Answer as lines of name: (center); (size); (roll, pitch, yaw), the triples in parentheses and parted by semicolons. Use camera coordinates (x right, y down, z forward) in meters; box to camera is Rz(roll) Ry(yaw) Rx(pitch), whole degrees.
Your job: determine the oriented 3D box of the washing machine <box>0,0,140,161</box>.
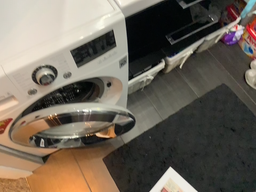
washing machine: (-0.350, -0.110, 1.040); (0.590, 0.850, 0.500); (-28, 70, -12)
